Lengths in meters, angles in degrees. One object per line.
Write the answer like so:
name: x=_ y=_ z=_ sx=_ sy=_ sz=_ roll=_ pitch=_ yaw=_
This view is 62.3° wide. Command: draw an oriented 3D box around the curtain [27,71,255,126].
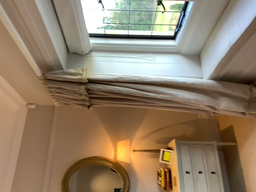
curtain: x=0.200 y=0.060 z=2.370 sx=0.580 sy=2.320 sz=0.370 roll=96 pitch=174 yaw=-67

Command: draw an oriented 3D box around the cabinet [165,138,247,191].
cabinet: x=0.910 y=0.940 z=2.600 sx=0.470 sy=0.770 sz=0.730 roll=96 pitch=174 yaw=-66
